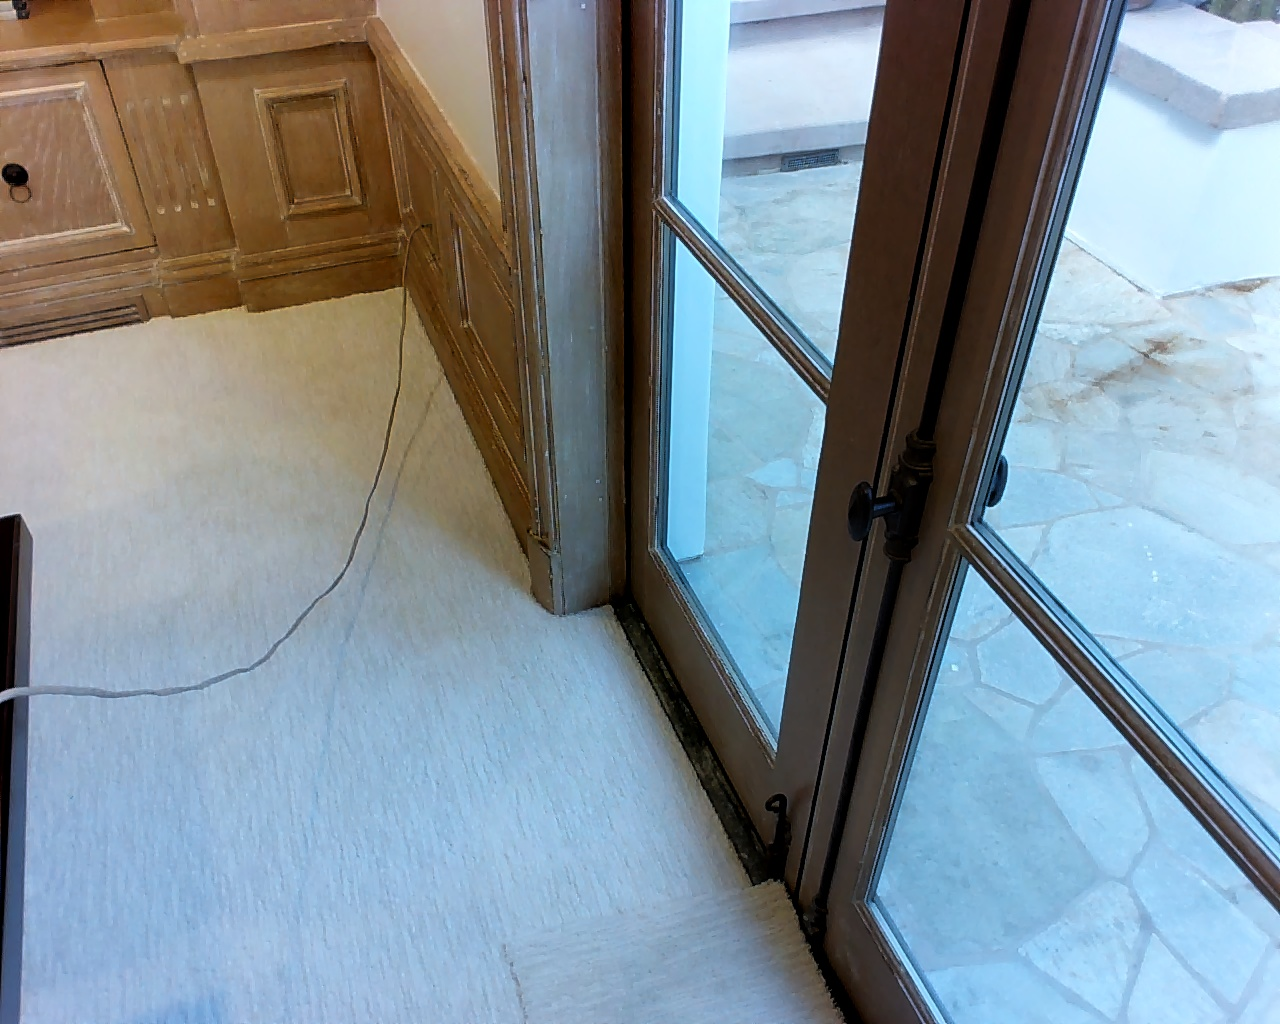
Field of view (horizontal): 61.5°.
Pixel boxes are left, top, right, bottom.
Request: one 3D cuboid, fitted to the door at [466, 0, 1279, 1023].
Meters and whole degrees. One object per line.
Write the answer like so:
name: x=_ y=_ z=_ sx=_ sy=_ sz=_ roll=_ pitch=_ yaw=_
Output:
door: x=0.180 y=-0.330 z=0.860 sx=0.250 sy=2.630 sz=1.720 roll=-14 pitch=44 yaw=-16
